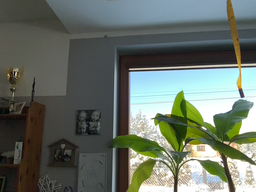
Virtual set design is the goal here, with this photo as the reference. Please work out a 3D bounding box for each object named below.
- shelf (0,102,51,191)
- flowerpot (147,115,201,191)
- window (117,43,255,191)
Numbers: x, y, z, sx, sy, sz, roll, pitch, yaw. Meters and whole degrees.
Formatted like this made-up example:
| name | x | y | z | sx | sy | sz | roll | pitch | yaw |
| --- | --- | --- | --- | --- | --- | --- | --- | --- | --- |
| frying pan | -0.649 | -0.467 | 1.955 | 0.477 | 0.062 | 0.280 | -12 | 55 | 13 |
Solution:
| name | x | y | z | sx | sy | sz | roll | pitch | yaw |
| --- | --- | --- | --- | --- | --- | --- | --- | --- | --- |
| shelf | -1.190 | 0.630 | 1.600 | 1.080 | 1.120 | 0.200 | -2 | -13 | 7 |
| flowerpot | 0.340 | 0.670 | 1.590 | 0.360 | 1.020 | 0.240 | -2 | -13 | 8 |
| window | 0.600 | 0.360 | 1.830 | 1.360 | 1.610 | 0.180 | -2 | -13 | 8 |
